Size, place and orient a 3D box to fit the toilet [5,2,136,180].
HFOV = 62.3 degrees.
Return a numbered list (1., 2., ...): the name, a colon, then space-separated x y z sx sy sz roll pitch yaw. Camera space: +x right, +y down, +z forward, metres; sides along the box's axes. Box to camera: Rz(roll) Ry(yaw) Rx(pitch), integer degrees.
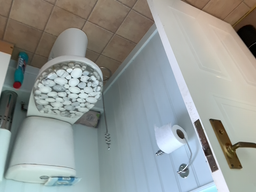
1. toilet: -0.370 0.010 1.260 0.410 0.740 0.670 15 136 -31
